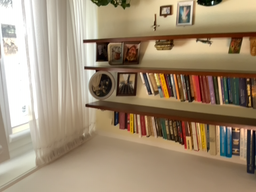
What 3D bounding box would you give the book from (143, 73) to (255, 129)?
[{"bbox_3d":[0.560,0.010,1.590,0.890,0.300,0.200,7,-167,29],"label":"book"}]
